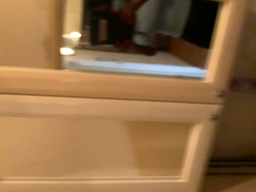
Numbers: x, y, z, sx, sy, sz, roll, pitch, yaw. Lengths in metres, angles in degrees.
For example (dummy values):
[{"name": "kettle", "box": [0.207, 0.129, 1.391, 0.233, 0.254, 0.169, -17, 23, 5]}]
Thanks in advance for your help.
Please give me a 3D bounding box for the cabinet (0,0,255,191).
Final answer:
[{"name": "cabinet", "box": [-0.100, -0.020, 0.760, 0.270, 0.850, 0.770, -114, 28, -69]}]
